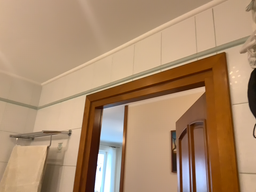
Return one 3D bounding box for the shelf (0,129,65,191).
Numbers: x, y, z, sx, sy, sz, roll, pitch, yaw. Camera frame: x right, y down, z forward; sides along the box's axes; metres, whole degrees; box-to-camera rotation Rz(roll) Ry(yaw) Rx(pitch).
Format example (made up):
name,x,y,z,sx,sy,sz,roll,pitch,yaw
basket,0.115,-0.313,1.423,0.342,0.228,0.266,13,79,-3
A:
name,x,y,z,sx,sy,sz,roll,pitch,yaw
shelf,-0.770,0.730,1.570,0.540,0.890,0.220,-15,-27,43
